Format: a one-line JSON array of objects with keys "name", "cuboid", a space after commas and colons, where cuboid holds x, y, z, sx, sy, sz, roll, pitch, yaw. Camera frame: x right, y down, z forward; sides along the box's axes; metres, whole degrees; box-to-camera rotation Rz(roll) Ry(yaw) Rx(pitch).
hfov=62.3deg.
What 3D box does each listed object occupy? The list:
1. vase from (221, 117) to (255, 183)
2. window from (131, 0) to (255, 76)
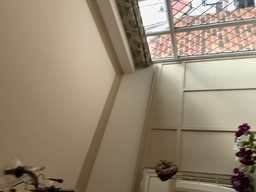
[{"name": "vase", "cuboid": [1.130, 0.470, 1.870, 0.310, 0.530, 0.470, 70, -153, -42]}, {"name": "window", "cuboid": [0.990, -1.000, 2.490, 1.690, 1.800, 0.230, 70, -153, -42]}]
